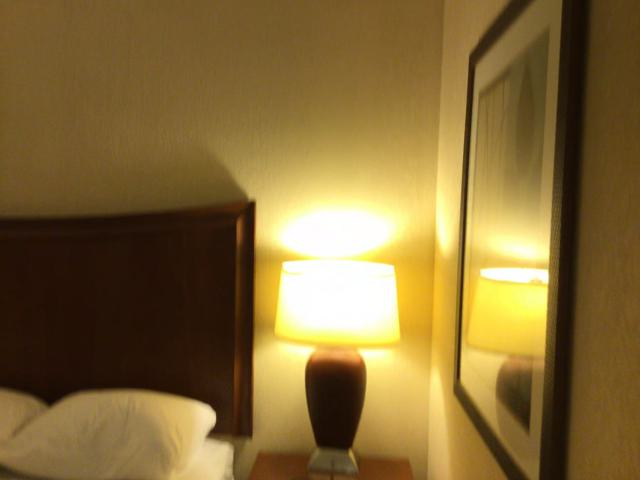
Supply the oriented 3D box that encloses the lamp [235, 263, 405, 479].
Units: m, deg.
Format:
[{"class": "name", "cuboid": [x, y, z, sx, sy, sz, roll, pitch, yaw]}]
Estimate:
[{"class": "lamp", "cuboid": [0.000, 0.440, 1.990, 0.500, 0.680, 0.260, 4, -1, -1]}]
